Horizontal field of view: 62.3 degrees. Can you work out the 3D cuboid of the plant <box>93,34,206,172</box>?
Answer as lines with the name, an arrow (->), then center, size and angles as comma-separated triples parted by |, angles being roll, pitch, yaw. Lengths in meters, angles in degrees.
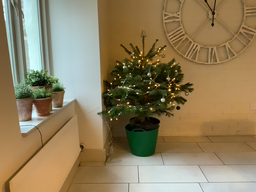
plant -> 0.200, 0.020, 2.390 | 0.980, 1.280, 0.900 | -1, 11, 1
